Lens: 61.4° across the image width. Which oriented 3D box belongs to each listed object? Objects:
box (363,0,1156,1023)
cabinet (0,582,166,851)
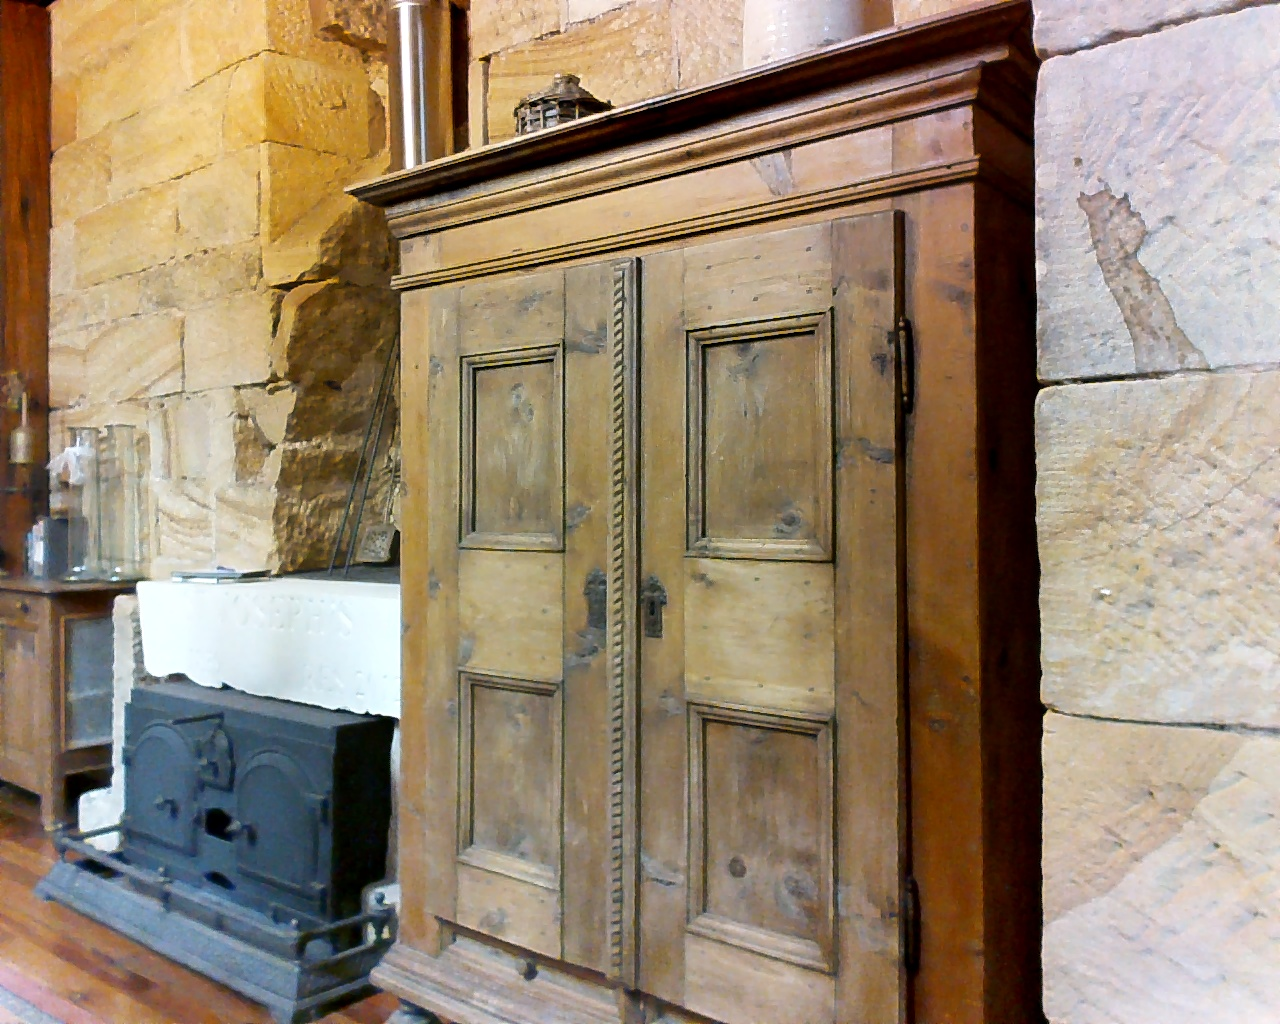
[{"bbox_3d":[0.180,0.190,2.000,1.270,1.791,0.710,-1,-1,38],"label":"box"},{"bbox_3d":[-2.319,0.720,4.140,1.170,0.850,0.400,-1,-1,38],"label":"cabinet"}]
